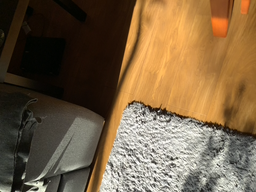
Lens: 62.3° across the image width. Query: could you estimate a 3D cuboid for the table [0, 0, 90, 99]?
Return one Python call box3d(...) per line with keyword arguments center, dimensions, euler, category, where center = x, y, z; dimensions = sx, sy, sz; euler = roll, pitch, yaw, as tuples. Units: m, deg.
box3d(center=(-0.690, -0.370, 1.260), dimensions=(0.650, 0.440, 0.570), euler=(16, 88, 24), category="table")
